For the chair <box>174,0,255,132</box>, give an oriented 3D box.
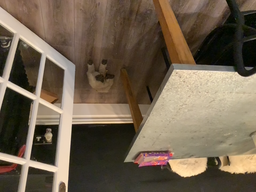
[{"bbox_3d":[0.630,-0.310,1.050,0.470,0.830,0.460,0,147,-13],"label":"chair"}]
